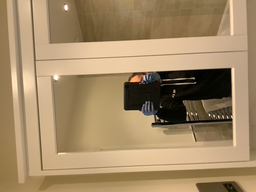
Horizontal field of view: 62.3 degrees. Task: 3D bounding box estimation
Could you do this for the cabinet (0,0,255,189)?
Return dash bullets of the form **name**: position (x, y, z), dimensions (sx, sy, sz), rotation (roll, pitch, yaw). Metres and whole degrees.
- **cabinet**: position (0.090, -0.120, 0.770), dimensions (0.160, 0.990, 0.810), rotation (-108, 16, -88)
